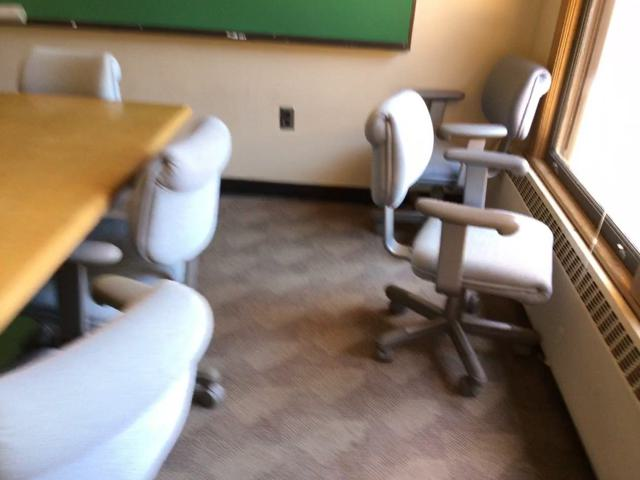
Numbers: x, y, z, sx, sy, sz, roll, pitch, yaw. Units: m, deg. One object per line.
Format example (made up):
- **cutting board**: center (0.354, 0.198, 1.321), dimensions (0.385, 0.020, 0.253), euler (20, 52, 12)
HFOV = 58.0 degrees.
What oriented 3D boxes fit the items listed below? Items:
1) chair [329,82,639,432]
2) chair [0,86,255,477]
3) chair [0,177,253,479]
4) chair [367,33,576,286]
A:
- **chair**: center (0.440, 0.020, 1.810), dimensions (0.700, 0.850, 0.580), euler (7, 23, 1)
- **chair**: center (-0.490, 0.070, 1.580), dimensions (0.470, 0.830, 0.610), euler (7, 22, 1)
- **chair**: center (-0.450, 0.400, 0.990), dimensions (0.520, 0.830, 0.580), euler (7, 22, 1)
- **chair**: center (0.570, -0.370, 2.480), dimensions (0.600, 0.890, 0.590), euler (7, 22, 1)
